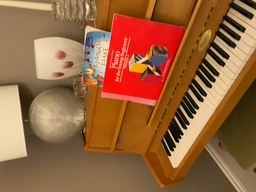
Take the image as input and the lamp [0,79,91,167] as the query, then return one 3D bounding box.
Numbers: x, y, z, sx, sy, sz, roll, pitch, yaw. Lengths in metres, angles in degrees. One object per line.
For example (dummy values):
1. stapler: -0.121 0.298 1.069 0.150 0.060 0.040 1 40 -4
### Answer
1. lamp: -0.470 0.130 1.010 0.190 0.510 0.340 61 147 38
